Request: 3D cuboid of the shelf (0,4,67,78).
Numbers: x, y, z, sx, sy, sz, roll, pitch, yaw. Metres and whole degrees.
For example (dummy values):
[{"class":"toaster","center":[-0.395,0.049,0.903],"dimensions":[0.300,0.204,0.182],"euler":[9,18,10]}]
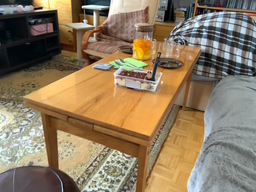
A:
[{"class":"shelf","center":[-1.490,-0.670,2.470],"dimensions":[0.640,0.630,1.520],"euler":[15,29,20]}]
